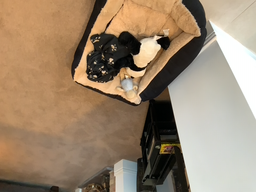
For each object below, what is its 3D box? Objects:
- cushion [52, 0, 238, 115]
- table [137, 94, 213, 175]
[{"bbox_3d":[0.020,-0.290,1.270,0.630,0.220,0.930,20,136,-26],"label":"cushion"},{"bbox_3d":[0.370,0.390,1.990,0.470,0.410,0.780,0,141,-4],"label":"table"}]
